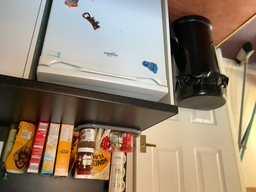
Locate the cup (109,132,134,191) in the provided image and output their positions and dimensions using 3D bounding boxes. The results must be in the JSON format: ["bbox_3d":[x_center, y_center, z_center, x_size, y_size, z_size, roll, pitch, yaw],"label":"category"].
[{"bbox_3d":[-0.040,0.420,1.320,0.110,0.350,0.160,8,156,-16],"label":"cup"}]
